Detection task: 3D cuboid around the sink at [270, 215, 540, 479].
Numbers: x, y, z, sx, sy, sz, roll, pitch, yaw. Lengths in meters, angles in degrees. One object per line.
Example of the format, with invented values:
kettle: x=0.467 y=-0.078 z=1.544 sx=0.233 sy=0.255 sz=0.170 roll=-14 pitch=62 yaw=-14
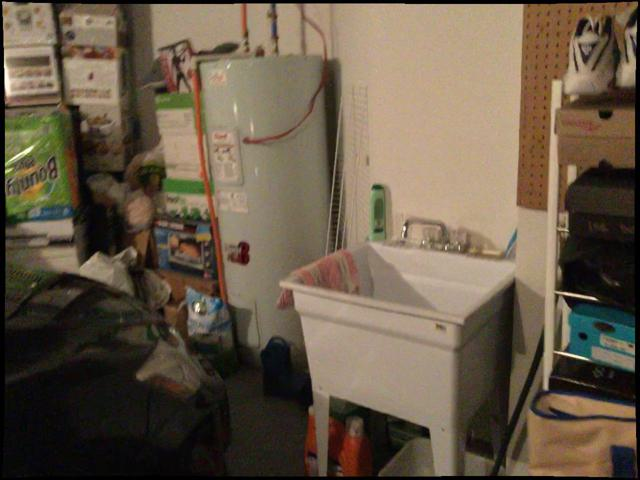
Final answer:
sink: x=0.300 y=0.430 z=1.910 sx=0.650 sy=0.861 sz=0.540 roll=8 pitch=21 yaw=34
